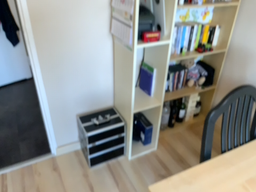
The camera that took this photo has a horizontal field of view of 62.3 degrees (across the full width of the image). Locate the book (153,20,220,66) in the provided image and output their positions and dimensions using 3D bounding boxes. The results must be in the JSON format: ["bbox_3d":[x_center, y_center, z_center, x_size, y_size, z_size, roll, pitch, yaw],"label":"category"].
[{"bbox_3d":[0.500,-0.470,1.830,0.530,0.290,0.190,-14,35,-25],"label":"book"}]

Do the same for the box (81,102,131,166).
[{"bbox_3d":[-0.190,0.320,1.830,0.320,0.380,0.270,-15,35,-26],"label":"box"}]

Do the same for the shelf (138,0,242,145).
[{"bbox_3d":[0.500,-0.510,1.730,0.670,1.940,0.290,-14,35,-25],"label":"shelf"}]
